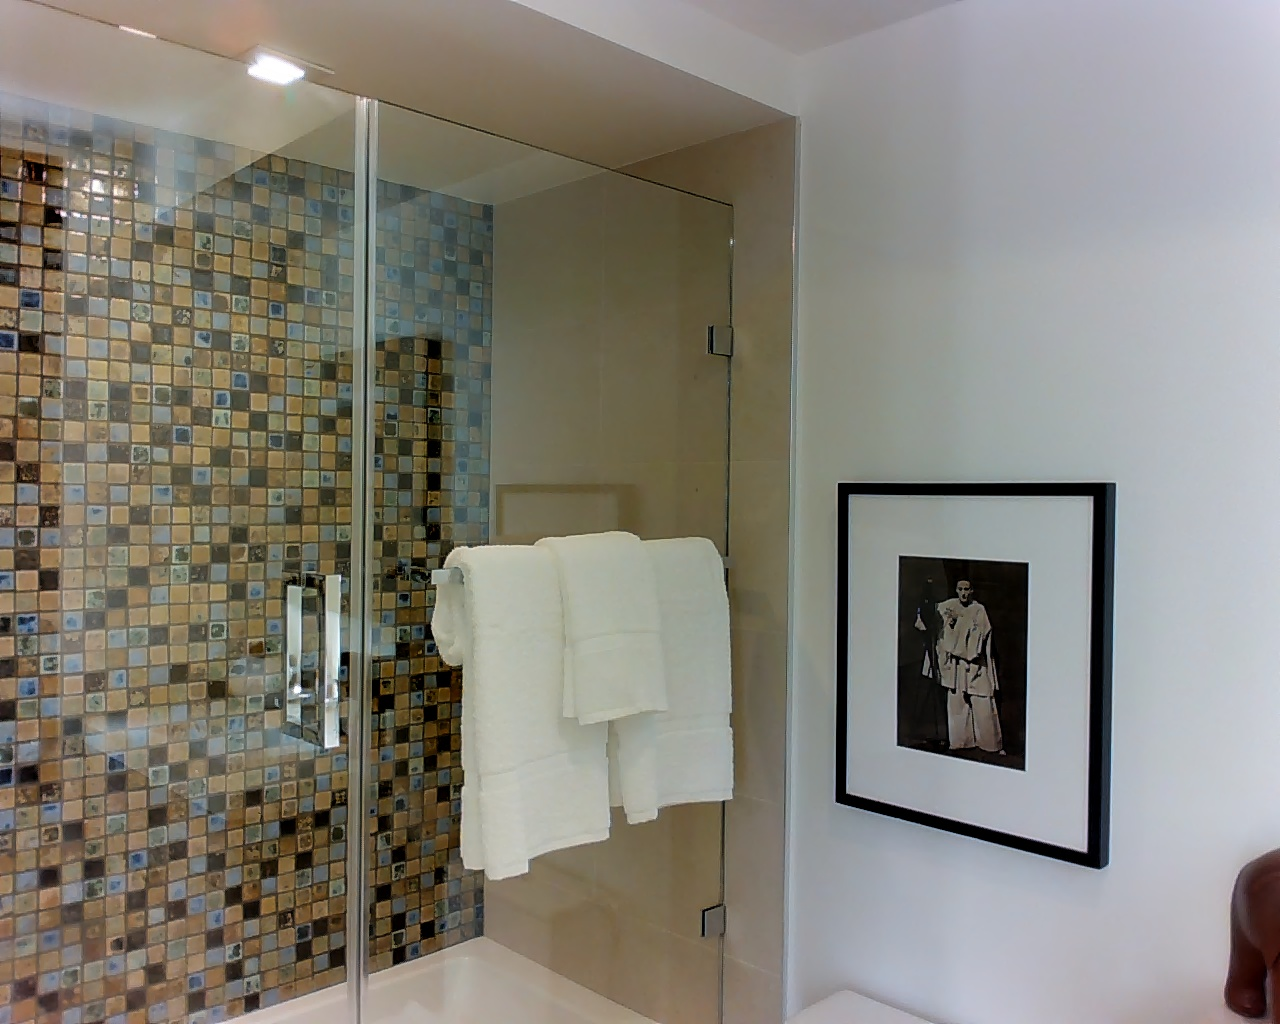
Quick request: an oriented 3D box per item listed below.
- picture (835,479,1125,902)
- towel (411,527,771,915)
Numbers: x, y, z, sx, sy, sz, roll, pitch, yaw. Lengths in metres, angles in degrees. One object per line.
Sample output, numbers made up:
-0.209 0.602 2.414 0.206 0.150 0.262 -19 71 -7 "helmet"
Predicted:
0.500 0.240 1.650 0.040 0.580 0.450 0 1 -44 "picture"
-0.060 0.280 1.690 0.540 0.500 0.230 0 1 -44 "towel"
